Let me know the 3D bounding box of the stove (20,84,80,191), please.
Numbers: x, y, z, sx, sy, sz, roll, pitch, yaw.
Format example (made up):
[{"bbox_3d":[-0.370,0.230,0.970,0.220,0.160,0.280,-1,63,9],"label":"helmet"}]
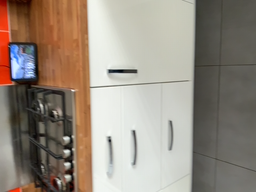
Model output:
[{"bbox_3d":[-0.400,0.250,1.040,0.540,0.050,0.590,7,100,48],"label":"stove"}]
